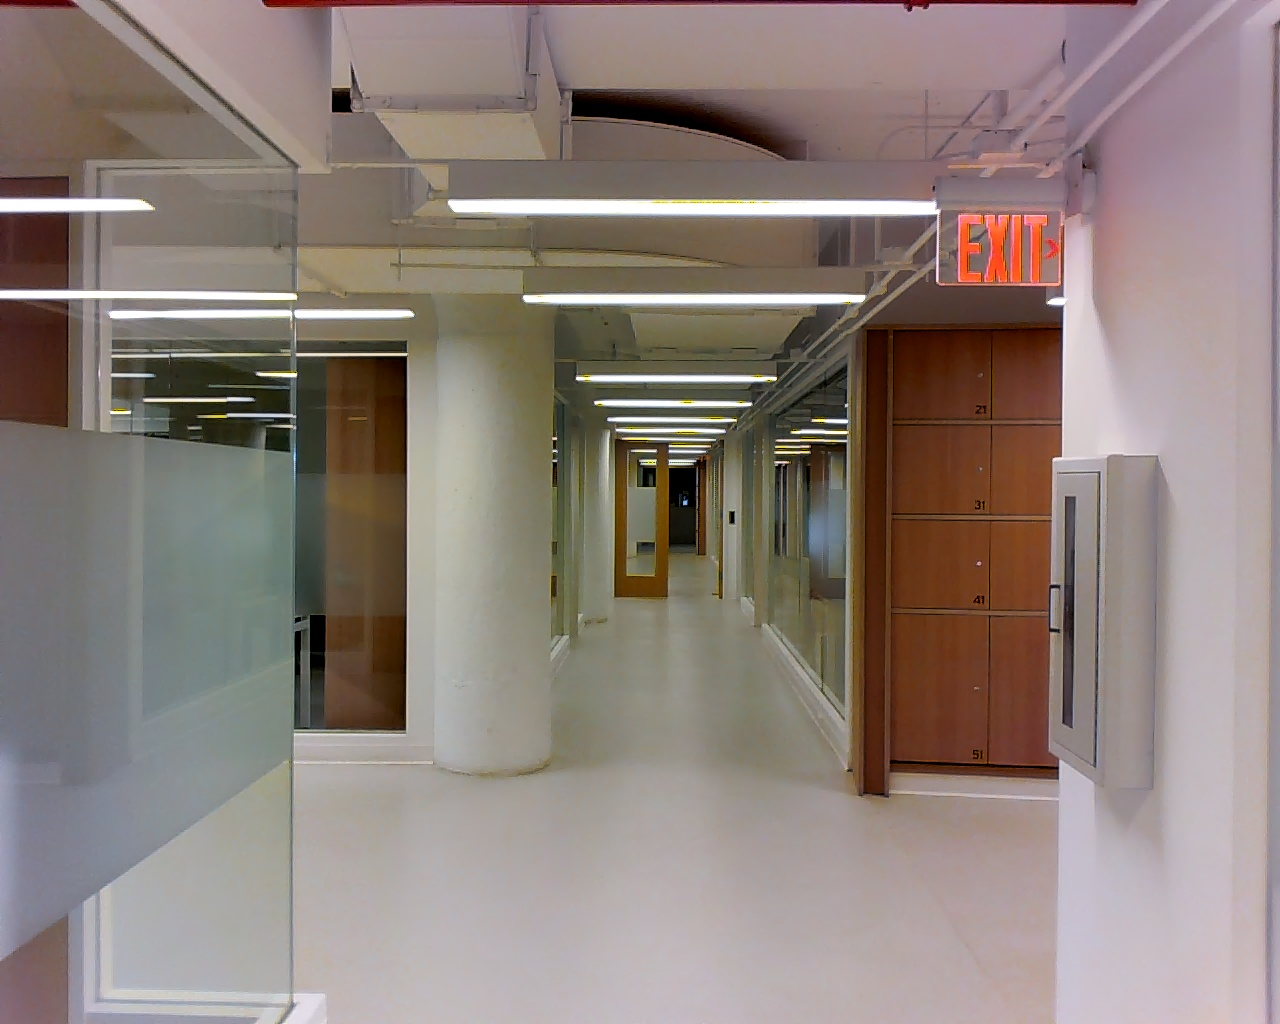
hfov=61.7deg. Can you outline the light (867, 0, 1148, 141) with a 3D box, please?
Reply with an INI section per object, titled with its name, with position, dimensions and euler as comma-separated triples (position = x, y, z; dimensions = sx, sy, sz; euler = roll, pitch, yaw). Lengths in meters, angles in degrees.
[light]
position = 1.050, -1.430, 3.180
dimensions = 0.500, 0.240, 1.230
euler = 1, 1, 1
